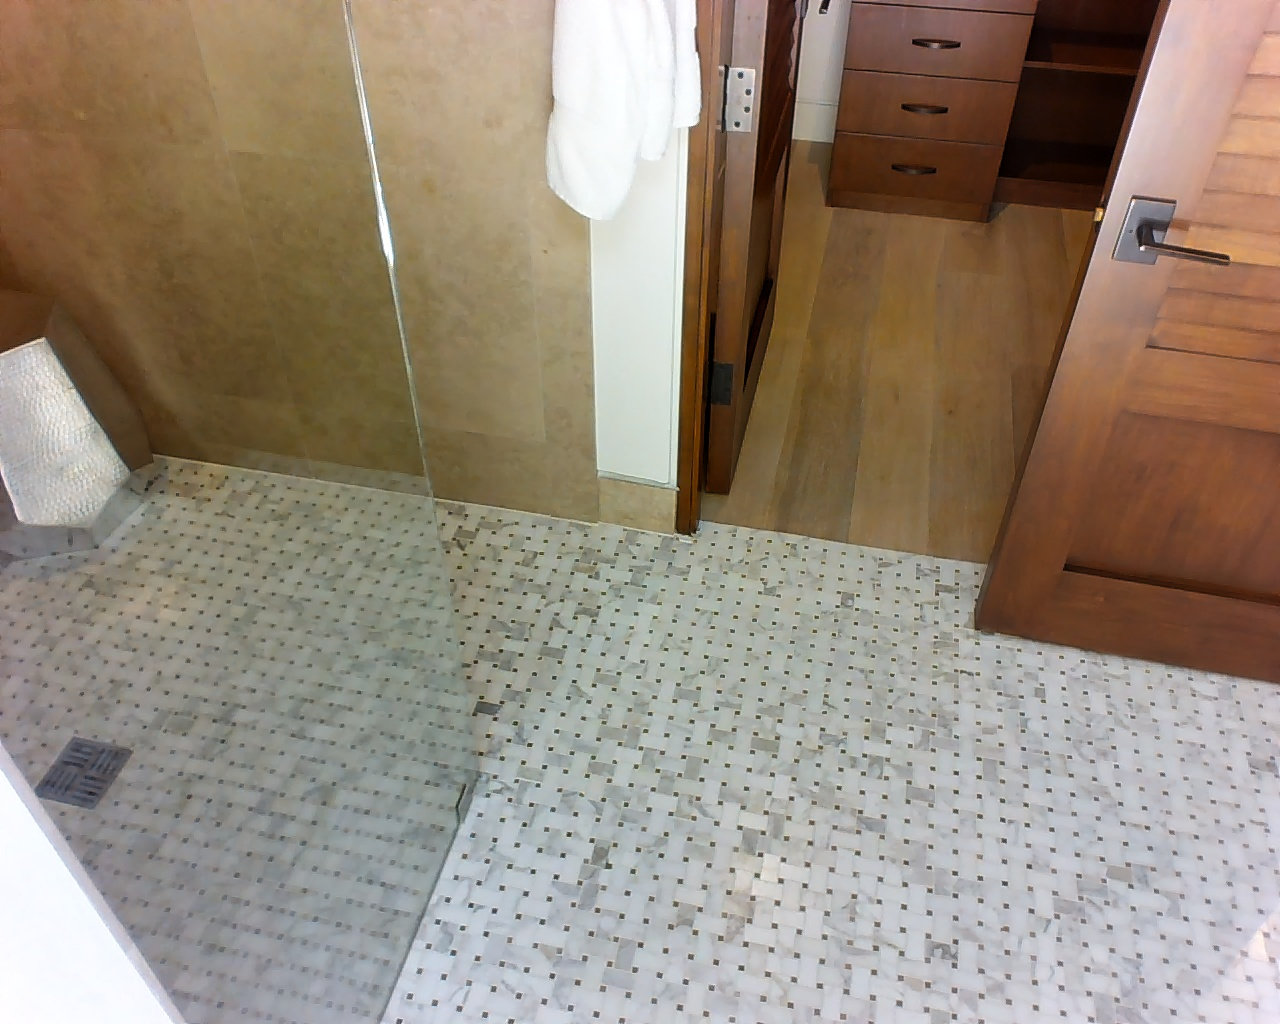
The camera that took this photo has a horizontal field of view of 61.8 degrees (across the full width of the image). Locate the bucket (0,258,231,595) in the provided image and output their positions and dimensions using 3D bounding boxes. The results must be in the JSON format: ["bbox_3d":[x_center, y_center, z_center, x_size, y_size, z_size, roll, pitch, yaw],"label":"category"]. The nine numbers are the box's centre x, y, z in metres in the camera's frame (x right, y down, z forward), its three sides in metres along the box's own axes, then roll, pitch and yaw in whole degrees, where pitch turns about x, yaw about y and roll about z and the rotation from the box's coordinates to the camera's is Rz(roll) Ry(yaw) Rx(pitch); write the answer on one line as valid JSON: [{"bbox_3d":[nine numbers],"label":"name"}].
[{"bbox_3d":[-1.330,-0.200,2.370,0.530,0.530,0.450,8,43,10],"label":"bucket"}]
